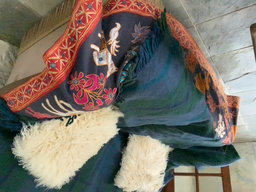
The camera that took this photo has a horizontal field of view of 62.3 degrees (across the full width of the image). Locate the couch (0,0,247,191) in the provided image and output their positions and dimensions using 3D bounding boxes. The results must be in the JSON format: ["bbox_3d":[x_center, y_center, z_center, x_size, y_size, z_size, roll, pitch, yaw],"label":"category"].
[{"bbox_3d":[0.070,0.220,1.290,0.900,0.880,1.560,-12,152,32],"label":"couch"}]

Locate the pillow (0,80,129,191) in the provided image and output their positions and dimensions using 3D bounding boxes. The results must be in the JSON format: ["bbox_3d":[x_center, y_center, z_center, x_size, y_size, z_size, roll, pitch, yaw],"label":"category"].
[{"bbox_3d":[-0.230,0.220,0.960,0.170,0.470,0.530,-42,170,-5],"label":"pillow"}]
